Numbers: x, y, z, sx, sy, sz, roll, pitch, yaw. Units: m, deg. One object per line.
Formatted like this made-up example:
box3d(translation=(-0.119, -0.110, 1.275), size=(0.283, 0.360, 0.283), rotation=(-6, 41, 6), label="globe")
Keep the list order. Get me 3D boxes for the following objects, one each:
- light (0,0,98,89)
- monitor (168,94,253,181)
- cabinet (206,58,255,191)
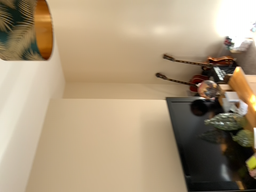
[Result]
box3d(translation=(-0.640, -0.420, 1.280), size=(0.410, 0.840, 0.490), rotation=(-96, 19, -48), label="light")
box3d(translation=(0.760, 0.350, 2.120), size=(0.040, 0.600, 0.960), rotation=(96, 177, -46), label="monitor")
box3d(translation=(1.280, 0.300, 2.080), size=(0.610, 0.420, 1.360), rotation=(97, 172, -47), label="cabinet")
